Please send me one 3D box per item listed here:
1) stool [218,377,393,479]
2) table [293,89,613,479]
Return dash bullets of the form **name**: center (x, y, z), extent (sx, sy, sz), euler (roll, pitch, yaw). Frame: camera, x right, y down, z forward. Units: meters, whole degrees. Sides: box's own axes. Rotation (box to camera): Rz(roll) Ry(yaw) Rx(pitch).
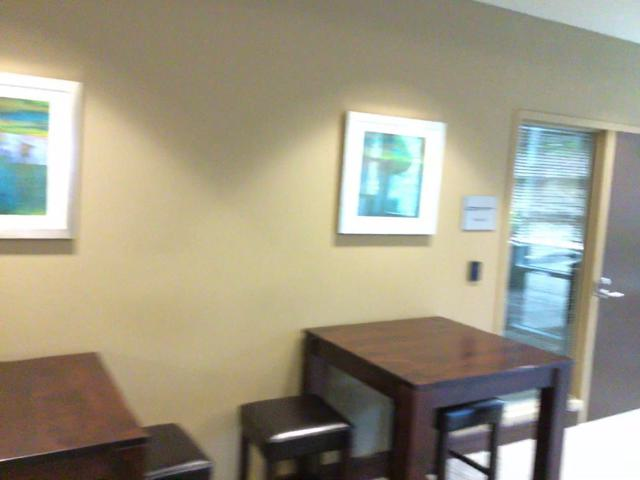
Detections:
- **stool**: center (-0.090, 1.060, 2.640), extent (0.560, 0.640, 0.610), euler (-1, 4, -31)
- **table**: center (0.570, 0.410, 2.760), extent (1.010, 1.960, 0.990), euler (-1, 4, -31)
